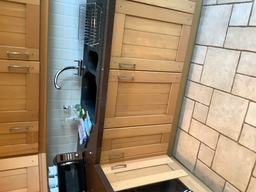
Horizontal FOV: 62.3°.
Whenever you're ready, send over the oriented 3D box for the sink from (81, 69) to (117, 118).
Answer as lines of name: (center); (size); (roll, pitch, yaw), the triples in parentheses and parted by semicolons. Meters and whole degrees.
sink: (-0.280, -0.040, 1.950); (0.440, 0.170, 0.330); (35, 122, 58)
